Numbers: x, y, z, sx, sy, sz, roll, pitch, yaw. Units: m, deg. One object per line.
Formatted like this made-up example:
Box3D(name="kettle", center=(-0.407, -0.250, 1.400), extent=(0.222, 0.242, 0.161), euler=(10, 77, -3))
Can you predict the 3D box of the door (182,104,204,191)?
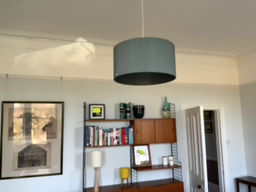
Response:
Box3D(name="door", center=(1.100, 1.160, 3.620), extent=(0.040, 1.990, 0.840), euler=(-1, -7, -1))
